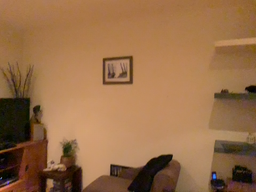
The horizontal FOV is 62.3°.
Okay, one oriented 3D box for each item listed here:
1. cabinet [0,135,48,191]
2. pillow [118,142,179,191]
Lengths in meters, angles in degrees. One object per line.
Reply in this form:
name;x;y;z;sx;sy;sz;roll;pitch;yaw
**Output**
cabinet;-1.730;1.010;2.740;0.570;0.740;1.290;0;0;22
pillow;0.200;0.840;2.310;0.170;0.490;0.490;44;-6;-27
